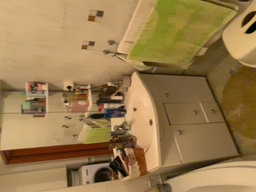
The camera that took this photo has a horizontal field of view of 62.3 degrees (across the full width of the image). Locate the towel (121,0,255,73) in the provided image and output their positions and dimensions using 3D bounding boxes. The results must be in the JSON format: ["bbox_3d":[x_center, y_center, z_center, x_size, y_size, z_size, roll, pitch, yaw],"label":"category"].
[{"bbox_3d":[0.370,-0.420,1.460,0.690,0.640,0.120,125,139,-53],"label":"towel"}]

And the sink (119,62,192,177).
[{"bbox_3d":[0.170,0.190,1.760,0.490,0.210,0.800,123,140,-52],"label":"sink"}]
